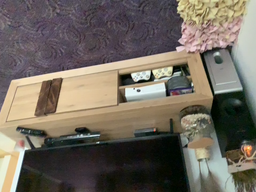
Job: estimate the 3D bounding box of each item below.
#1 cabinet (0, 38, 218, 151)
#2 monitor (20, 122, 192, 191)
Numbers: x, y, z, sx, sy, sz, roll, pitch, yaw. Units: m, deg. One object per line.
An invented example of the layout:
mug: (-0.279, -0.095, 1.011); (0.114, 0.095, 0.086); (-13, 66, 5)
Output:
cabinet: (-0.140, 0.040, 1.590); (1.390, 0.440, 0.500); (-9, 146, 9)
monitor: (-0.160, 0.560, 1.350); (1.060, 0.680, 0.120); (-8, 146, 7)
